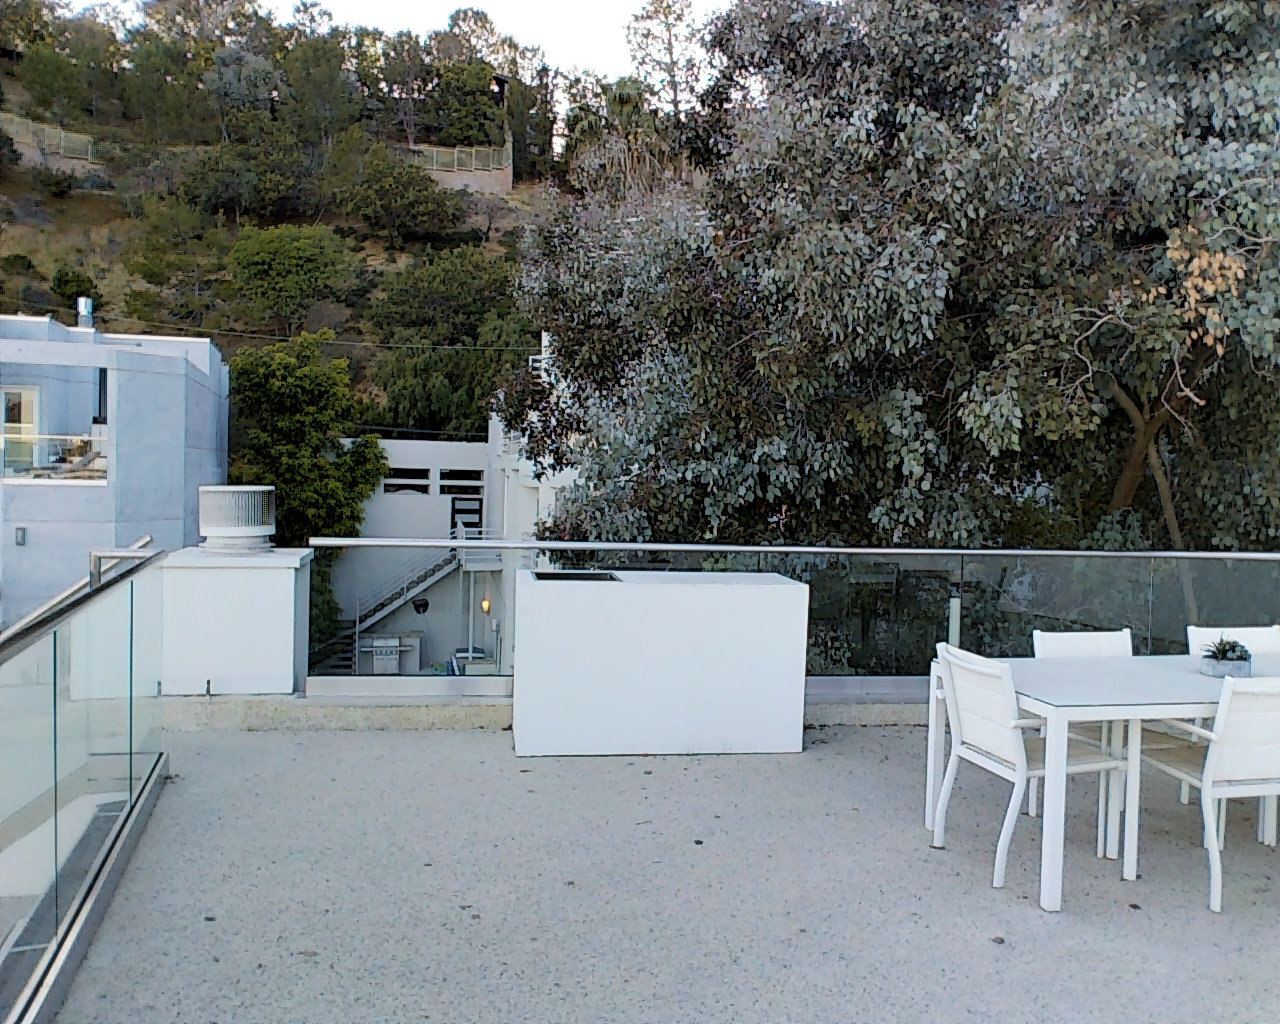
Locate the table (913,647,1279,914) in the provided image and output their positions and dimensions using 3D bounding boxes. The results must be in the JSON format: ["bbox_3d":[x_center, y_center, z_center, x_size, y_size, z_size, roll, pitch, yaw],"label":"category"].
[{"bbox_3d":[2.130,1.040,4.500,1.640,0.770,0.950,1,2,-15],"label":"table"}]

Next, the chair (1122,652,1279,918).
[{"bbox_3d":[2.300,1.010,4.120,0.640,0.860,0.480,1,2,-13],"label":"chair"}]
